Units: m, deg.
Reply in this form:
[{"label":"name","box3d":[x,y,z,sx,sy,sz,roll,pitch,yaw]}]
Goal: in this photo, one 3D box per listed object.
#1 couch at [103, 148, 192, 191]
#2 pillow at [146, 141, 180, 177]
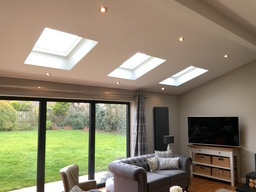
[{"label":"couch","box3d":[0.460,1.670,4.580,1.720,0.750,1.000,4,-6,-41]},{"label":"pillow","box3d":[0.790,1.410,4.780,0.470,0.530,0.350,-33,10,-17]}]
